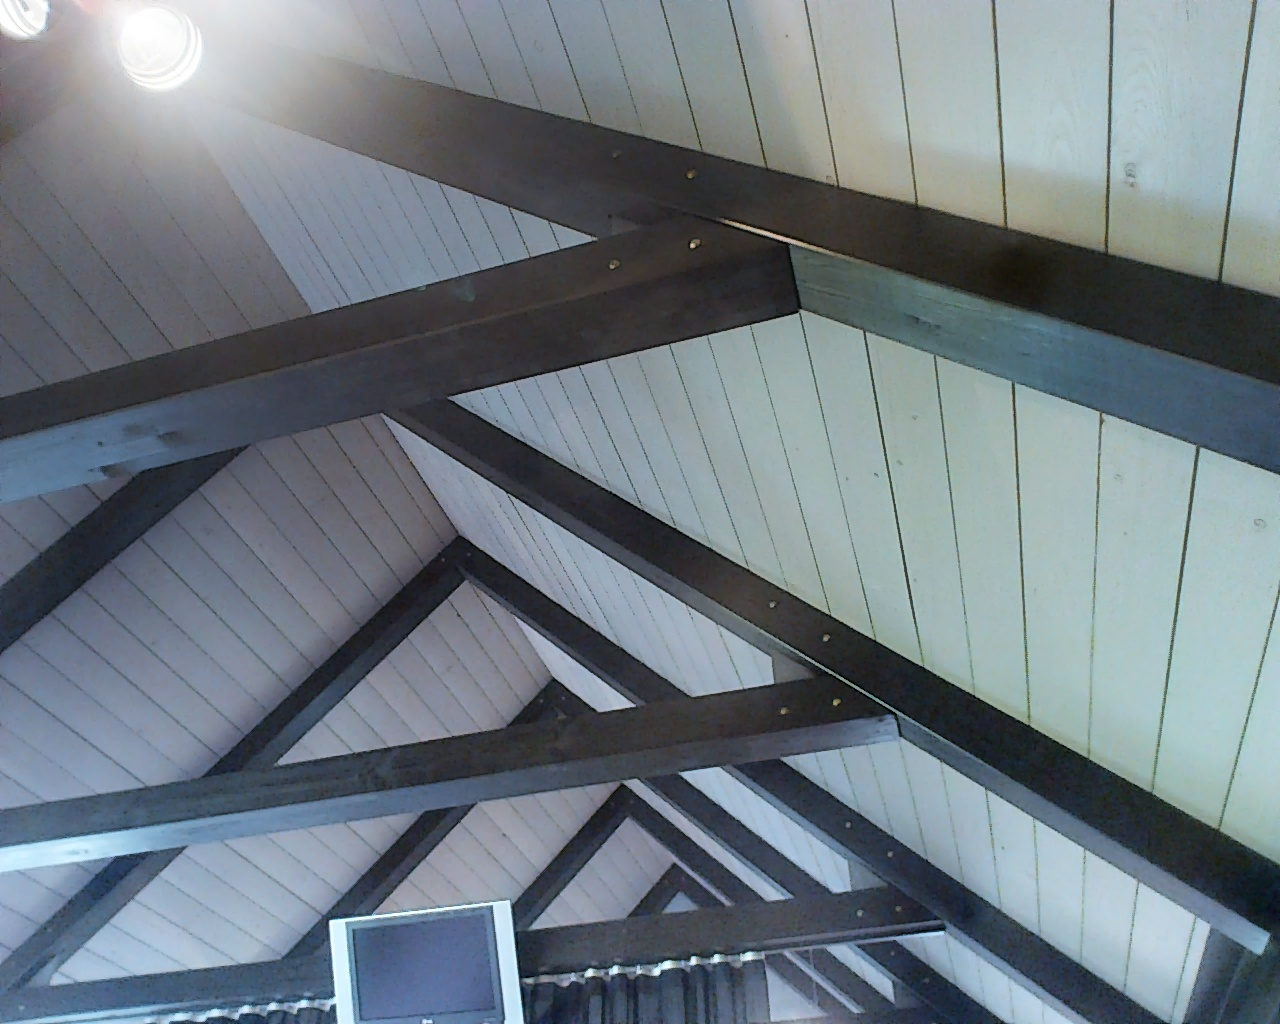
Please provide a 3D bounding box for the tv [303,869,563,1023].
[{"bbox_3d":[-0.790,1.771,4.220,0.870,0.500,0.380,-12,-43,13],"label":"tv"}]
